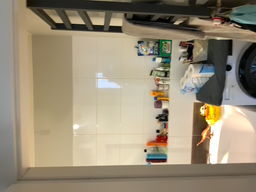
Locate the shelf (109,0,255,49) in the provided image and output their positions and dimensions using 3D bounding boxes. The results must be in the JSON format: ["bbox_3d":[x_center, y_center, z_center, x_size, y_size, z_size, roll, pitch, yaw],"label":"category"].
[{"bbox_3d":[0.540,-0.440,1.310,0.550,1.300,0.200,-131,43,-81],"label":"shelf"}]
